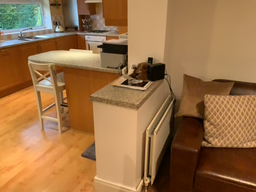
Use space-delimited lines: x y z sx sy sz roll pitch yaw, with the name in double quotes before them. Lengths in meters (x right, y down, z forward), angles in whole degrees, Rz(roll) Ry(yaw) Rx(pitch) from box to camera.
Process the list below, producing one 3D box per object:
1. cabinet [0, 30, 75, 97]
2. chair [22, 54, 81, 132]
"cabinet" -2.340 -0.680 4.250 0.610 0.900 3.390 8 24 19
"chair" -0.980 -0.060 2.830 0.440 0.870 0.470 9 25 21
